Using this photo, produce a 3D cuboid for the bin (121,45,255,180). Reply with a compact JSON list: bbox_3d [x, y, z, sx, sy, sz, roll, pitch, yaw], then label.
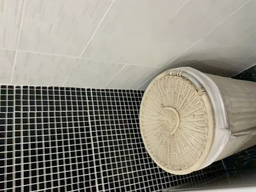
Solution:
[{"bbox_3d":[0.380,0.110,1.000,0.480,0.610,0.400,-37,58,51],"label":"bin"}]
